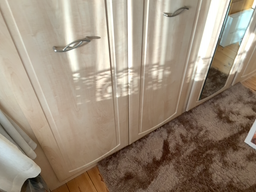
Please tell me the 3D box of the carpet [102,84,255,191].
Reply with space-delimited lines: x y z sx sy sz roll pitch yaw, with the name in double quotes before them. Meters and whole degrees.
"carpet" 0.610 0.410 1.510 1.390 0.100 0.740 -24 49 -22
